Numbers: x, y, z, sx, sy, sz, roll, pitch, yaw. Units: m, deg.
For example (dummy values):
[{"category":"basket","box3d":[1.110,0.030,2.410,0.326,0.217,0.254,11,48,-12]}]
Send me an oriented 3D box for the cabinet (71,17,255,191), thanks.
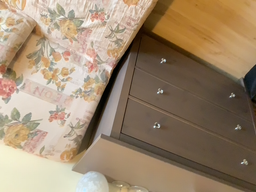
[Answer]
[{"category":"cabinet","box3d":[0.320,0.150,1.480,1.060,0.940,0.510,23,140,-15]}]
